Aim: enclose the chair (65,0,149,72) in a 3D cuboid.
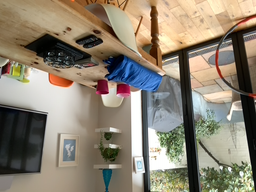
[{"bbox_3d":[-0.170,-0.680,1.770,0.540,0.780,0.380,-12,160,37],"label":"chair"}]
